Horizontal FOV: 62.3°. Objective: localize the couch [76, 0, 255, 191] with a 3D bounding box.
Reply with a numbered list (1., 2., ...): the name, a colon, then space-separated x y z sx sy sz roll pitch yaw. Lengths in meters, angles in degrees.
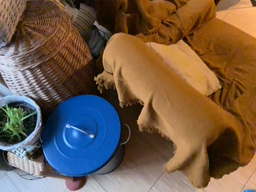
1. couch: 0.450 -0.110 1.150 0.960 0.790 0.770 -43 66 -13
